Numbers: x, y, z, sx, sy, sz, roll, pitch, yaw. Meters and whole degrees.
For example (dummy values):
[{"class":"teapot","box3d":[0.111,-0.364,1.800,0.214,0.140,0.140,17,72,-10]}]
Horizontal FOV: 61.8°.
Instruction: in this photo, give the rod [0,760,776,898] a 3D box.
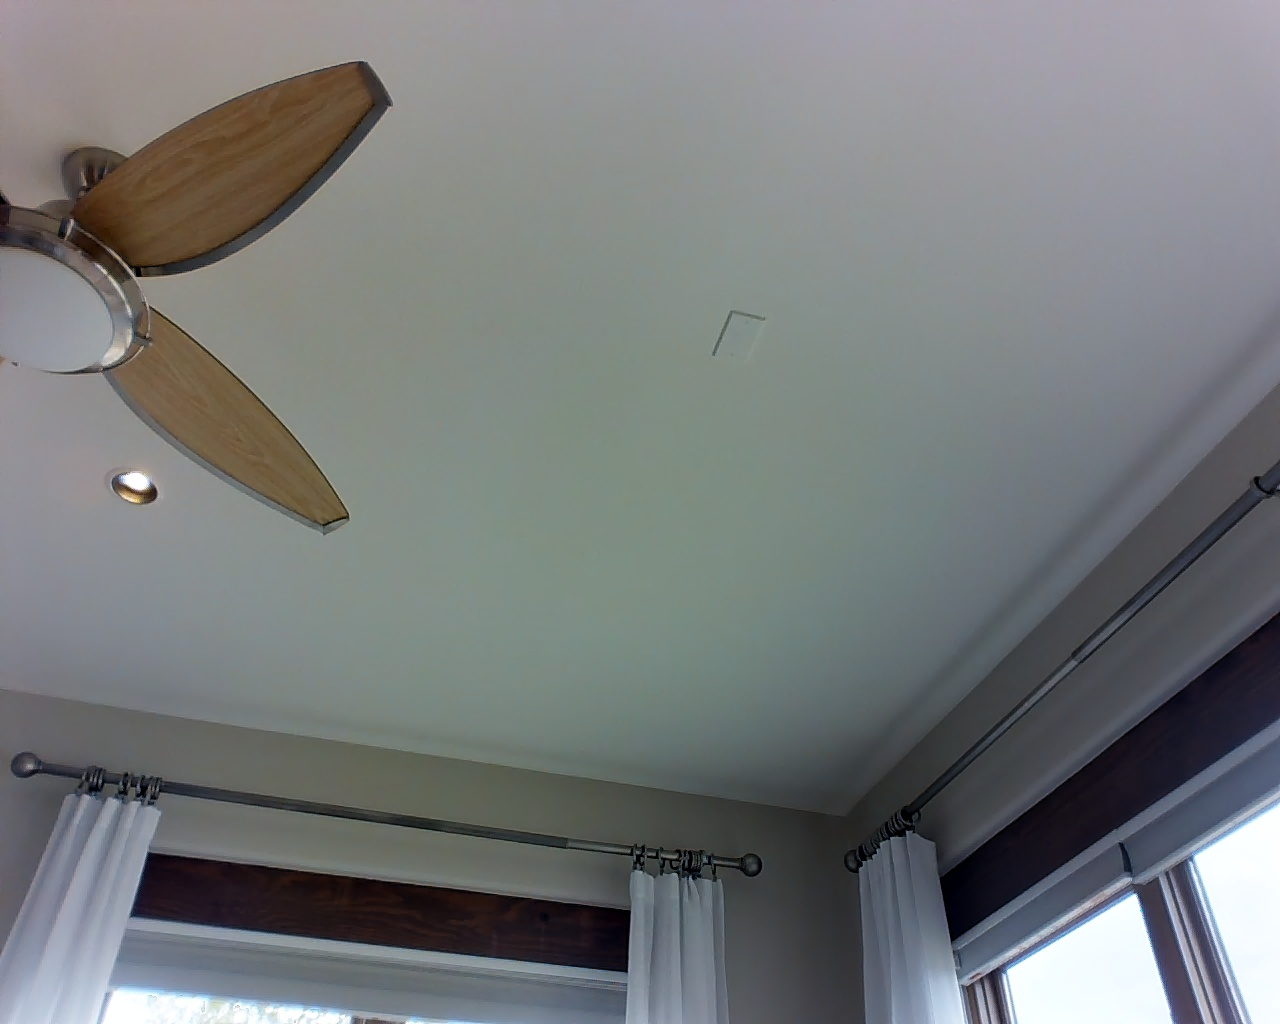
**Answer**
[{"class":"rod","box3d":[-0.640,0.920,3.050,2.179,0.060,0.080,12,-43,-13]}]

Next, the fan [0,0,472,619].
[{"class":"fan","box3d":[-0.900,-0.380,1.680,1.030,0.360,1.080,13,-43,-13]}]
